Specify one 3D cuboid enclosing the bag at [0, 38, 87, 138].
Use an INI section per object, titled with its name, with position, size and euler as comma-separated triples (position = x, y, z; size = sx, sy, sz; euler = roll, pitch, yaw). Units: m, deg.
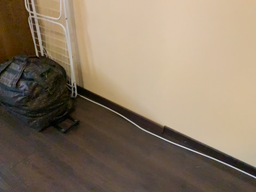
[bag]
position = -0.700, -0.100, 1.610
size = 0.540, 0.440, 0.480
euler = 25, 43, 30
